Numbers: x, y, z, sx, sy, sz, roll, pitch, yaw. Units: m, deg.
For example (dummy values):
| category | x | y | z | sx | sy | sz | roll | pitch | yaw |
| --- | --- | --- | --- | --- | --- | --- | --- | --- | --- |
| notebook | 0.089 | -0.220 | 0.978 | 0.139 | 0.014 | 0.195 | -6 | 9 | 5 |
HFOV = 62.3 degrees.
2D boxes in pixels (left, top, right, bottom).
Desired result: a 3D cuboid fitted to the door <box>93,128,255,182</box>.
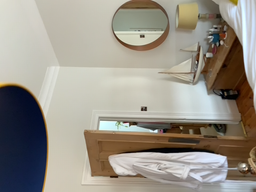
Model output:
| category | x | y | z | sx | sy | sz | roll | pitch | yaw |
| --- | --- | --- | --- | --- | --- | --- | --- | --- | --- |
| door | 0.640 | 0.690 | 2.370 | 0.110 | 1.970 | 0.840 | -88 | -1 | -47 |
